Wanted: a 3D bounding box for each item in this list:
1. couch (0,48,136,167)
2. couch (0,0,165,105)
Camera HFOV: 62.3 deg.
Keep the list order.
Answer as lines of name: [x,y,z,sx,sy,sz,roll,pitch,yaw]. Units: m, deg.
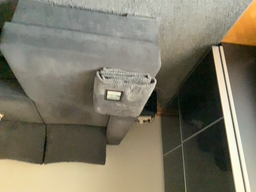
couch: [-1.200,0.180,2.150,2.390,0.790,1.120,5,155,-7]
couch: [-0.290,-0.290,1.540,0.930,0.410,0.650,5,155,-7]
